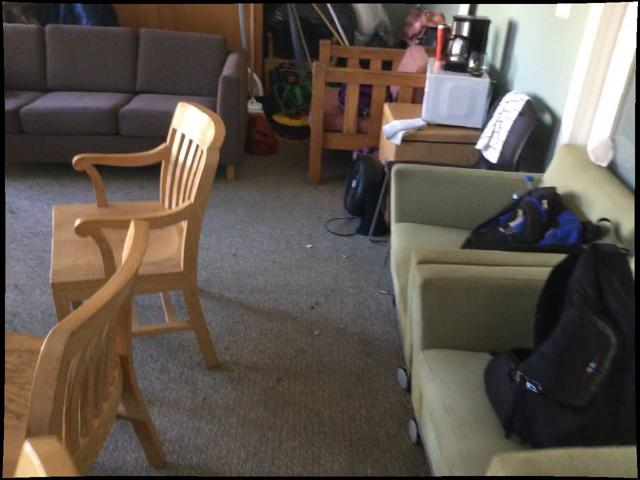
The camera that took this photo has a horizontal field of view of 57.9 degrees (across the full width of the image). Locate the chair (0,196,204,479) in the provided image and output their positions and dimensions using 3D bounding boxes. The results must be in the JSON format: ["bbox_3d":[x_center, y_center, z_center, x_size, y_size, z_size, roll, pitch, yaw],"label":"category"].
[{"bbox_3d":[-0.669,0.390,1.360,0.649,0.811,0.560,-1,30,-3],"label":"chair"}]

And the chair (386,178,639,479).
[{"bbox_3d":[0.679,0.360,1.540,0.819,0.711,0.950,-1,30,-3],"label":"chair"}]

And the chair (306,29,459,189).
[{"bbox_3d":[0.360,-0.841,3.580,0.799,0.731,0.830,3,30,4],"label":"chair"}]

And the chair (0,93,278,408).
[{"bbox_3d":[-0.599,-0.010,2.070,0.779,0.811,0.700,-6,30,-11],"label":"chair"}]

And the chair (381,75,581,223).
[{"bbox_3d":[0.639,-0.410,2.500,0.649,0.470,0.520,-1,30,-3],"label":"chair"}]

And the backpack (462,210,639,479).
[{"bbox_3d":[0.619,0.230,1.310,0.420,0.430,0.460,-1,30,-3],"label":"backpack"}]

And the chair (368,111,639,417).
[{"bbox_3d":[0.649,0.040,2.080,0.819,0.781,0.790,-1,30,-3],"label":"chair"}]
